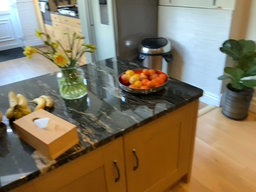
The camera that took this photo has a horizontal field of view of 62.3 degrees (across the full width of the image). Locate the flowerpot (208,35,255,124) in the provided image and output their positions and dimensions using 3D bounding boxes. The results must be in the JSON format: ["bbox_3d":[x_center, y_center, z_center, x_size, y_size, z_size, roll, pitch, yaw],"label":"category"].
[{"bbox_3d":[1.090,-0.170,2.140,0.320,0.790,0.300,-20,33,-29],"label":"flowerpot"}]
